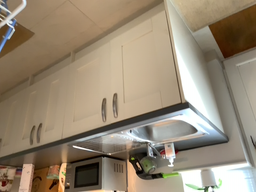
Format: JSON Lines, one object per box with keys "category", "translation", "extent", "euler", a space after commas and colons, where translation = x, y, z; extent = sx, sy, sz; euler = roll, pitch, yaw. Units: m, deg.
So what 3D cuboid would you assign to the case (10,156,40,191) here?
{"category": "case", "translation": [-1.070, 0.850, 2.210], "extent": [0.200, 0.380, 0.160], "euler": [-19, 149, 29]}
